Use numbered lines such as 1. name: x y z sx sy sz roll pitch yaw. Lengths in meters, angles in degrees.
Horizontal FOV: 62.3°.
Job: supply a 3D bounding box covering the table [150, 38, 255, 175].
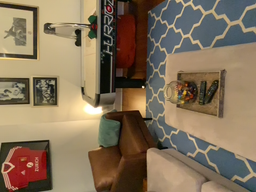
1. table: 0.660 -0.010 1.670 1.220 0.390 0.720 -162 72 -66
